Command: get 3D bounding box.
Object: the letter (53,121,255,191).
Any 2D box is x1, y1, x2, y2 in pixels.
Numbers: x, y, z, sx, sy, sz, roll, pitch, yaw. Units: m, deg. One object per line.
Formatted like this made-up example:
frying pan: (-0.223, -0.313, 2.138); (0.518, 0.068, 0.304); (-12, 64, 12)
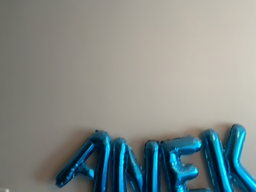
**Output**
letter: (0.140, 0.350, 1.020); (0.990, 0.420, 0.110); (1, -9, 9)
